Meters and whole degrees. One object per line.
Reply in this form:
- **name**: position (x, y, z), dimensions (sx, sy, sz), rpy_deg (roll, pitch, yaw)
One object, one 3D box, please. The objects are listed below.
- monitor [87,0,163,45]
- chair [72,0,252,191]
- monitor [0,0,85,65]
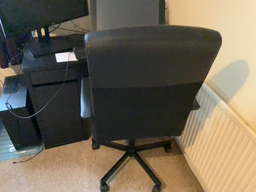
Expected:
- **monitor**: position (-0.020, -0.600, 1.660), dimensions (0.580, 0.360, 0.030), rpy_deg (1, 3, -8)
- **chair**: position (0.070, 0.000, 1.420), dimensions (0.690, 1.090, 0.730), rpy_deg (-9, 38, -16)
- **monitor**: position (-0.550, -0.540, 1.390), dimensions (0.060, 0.490, 0.620), rpy_deg (27, 42, 28)
